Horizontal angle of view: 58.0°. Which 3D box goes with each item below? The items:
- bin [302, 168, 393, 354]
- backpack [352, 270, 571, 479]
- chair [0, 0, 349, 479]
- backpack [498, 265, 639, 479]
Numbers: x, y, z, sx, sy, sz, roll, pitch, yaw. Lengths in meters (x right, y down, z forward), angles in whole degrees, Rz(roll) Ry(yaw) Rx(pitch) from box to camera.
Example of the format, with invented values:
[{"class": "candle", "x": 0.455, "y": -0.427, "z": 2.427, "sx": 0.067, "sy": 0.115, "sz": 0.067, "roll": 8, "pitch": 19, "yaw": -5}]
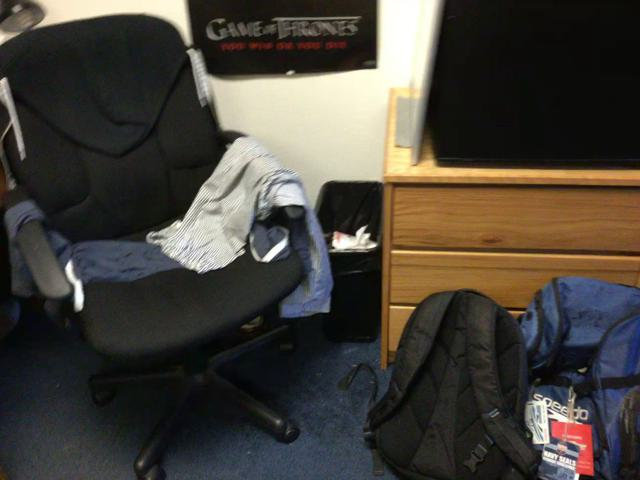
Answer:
[{"class": "bin", "x": 0.110, "y": 0.050, "z": 1.870, "sx": 0.240, "sy": 0.400, "sz": 0.480, "roll": 1, "pitch": 32, "yaw": 7}, {"class": "backpack", "x": 0.310, "y": 0.360, "z": 1.420, "sx": 0.420, "sy": 0.380, "sz": 0.440, "roll": 1, "pitch": 32, "yaw": 7}, {"class": "chair", "x": -0.370, "y": 0.010, "z": 1.460, "sx": 0.800, "sy": 1.000, "sz": 0.750, "roll": 1, "pitch": 32, "yaw": 7}, {"class": "backpack", "x": 0.680, "y": 0.350, "z": 1.410, "sx": 0.380, "sy": 0.410, "sz": 0.410, "roll": 1, "pitch": 32, "yaw": 7}]
